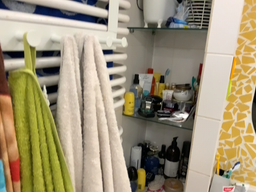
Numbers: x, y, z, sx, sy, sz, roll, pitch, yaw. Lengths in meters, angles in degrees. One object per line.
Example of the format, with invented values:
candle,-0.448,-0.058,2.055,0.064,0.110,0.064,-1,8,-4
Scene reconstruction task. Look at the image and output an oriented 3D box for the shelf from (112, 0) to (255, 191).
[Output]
shelf,0.230,-0.110,0.850,0.400,1.170,0.390,11,17,25
